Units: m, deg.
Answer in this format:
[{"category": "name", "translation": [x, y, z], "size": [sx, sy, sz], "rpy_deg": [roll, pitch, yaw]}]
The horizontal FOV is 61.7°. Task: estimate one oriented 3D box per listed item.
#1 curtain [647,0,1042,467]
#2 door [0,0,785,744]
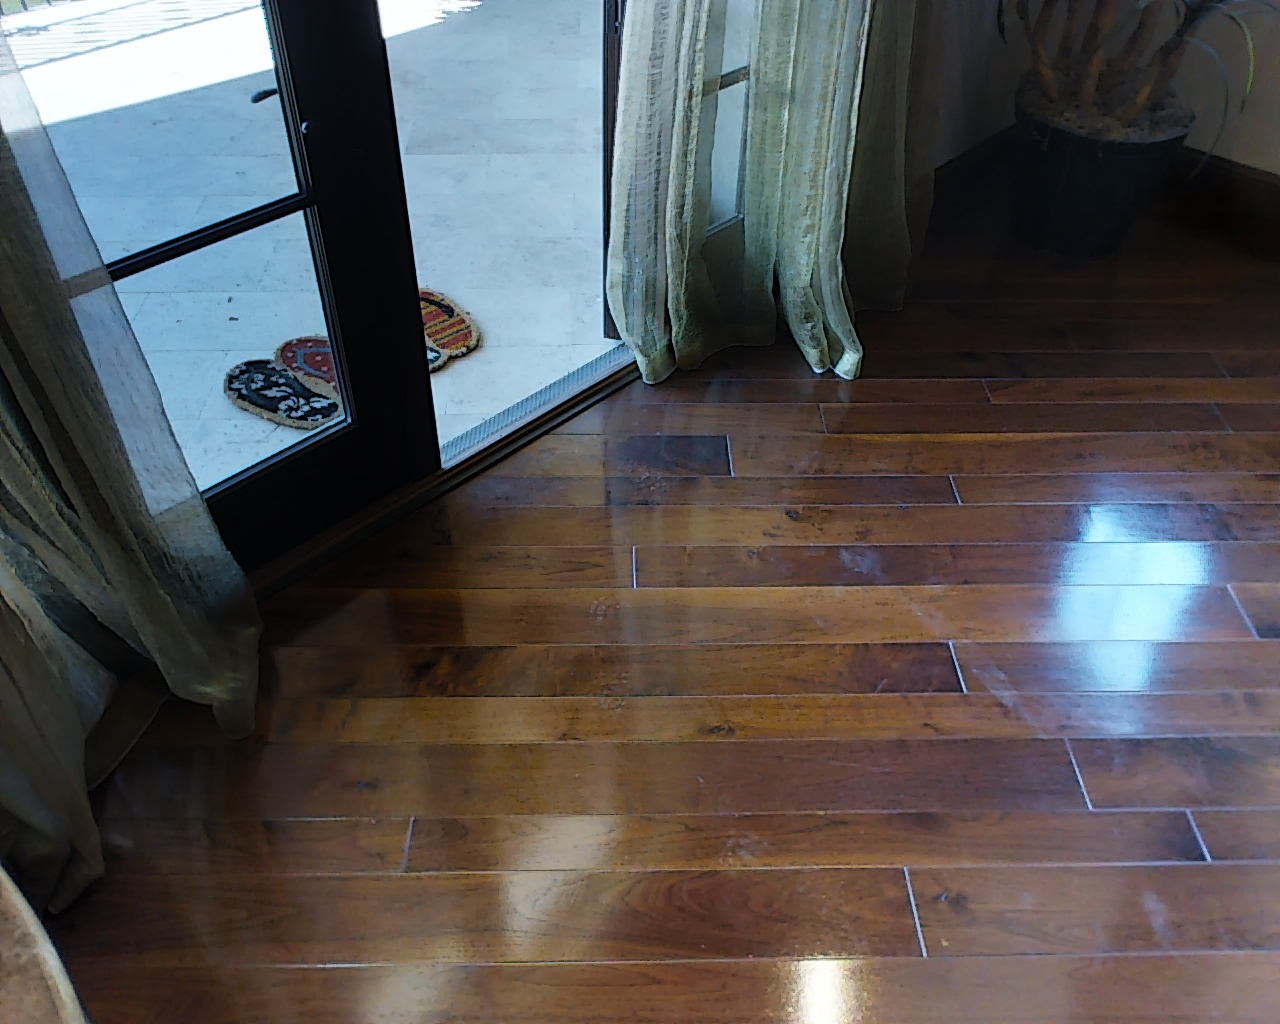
[{"category": "curtain", "translation": [0.480, -1.260, 2.110], "size": [0.330, 2.280, 0.960], "rpy_deg": [33, 51, 31]}, {"category": "door", "translation": [-0.360, -0.880, 1.620], "size": [0.410, 2.330, 1.400], "rpy_deg": [33, 51, 31]}]
